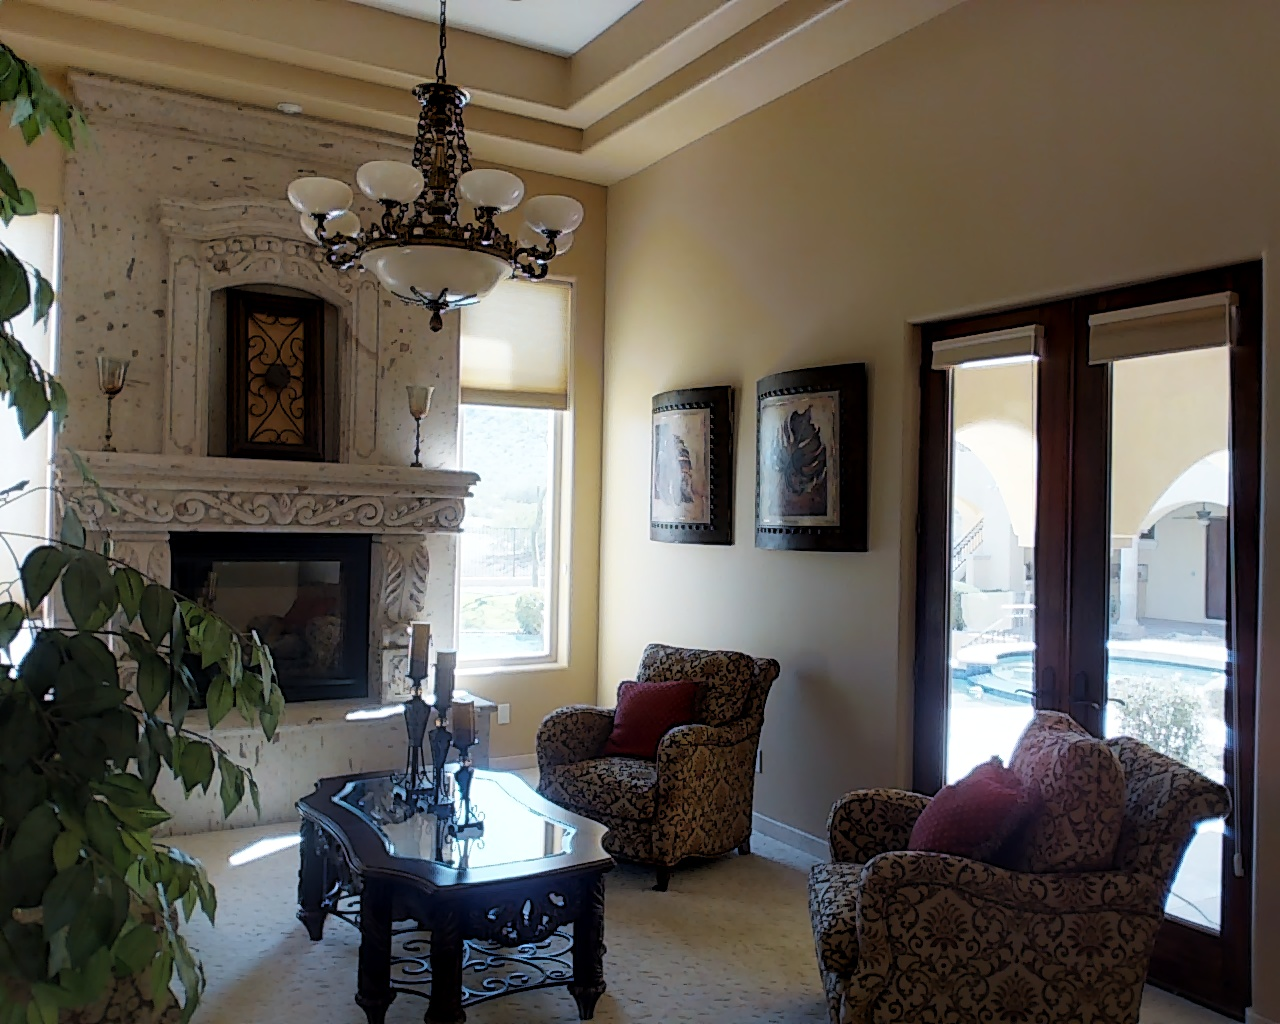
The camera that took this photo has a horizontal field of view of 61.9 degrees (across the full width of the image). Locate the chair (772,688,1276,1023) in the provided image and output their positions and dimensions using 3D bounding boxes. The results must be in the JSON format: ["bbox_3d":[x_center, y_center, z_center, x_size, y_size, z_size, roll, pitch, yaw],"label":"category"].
[{"bbox_3d":[1.020,1.090,3.150,1.170,0.960,0.910,2,-1,3],"label":"chair"}]

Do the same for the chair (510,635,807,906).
[{"bbox_3d":[0.110,1.110,4.950,0.880,0.930,1.090,1,-1,37],"label":"chair"}]
